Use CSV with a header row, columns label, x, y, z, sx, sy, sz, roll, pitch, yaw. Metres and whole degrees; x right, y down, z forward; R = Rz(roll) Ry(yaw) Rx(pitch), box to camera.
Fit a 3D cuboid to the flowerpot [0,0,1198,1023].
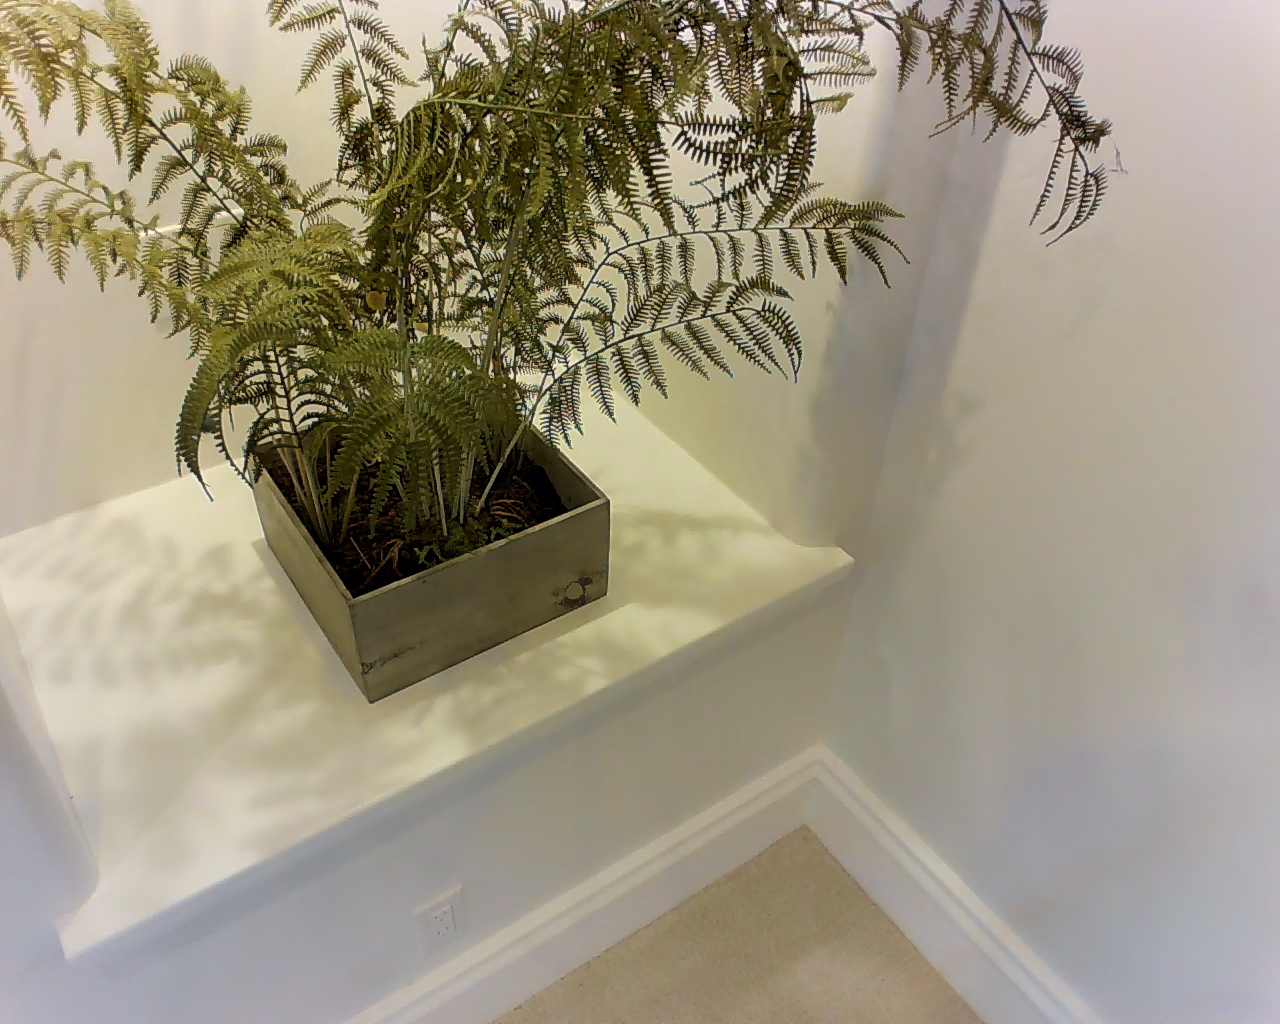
label,x,y,z,sx,sy,sz,roll,pitch,yaw
flowerpot,-0.140,-0.150,0.930,0.900,0.880,0.560,-21,44,-26
